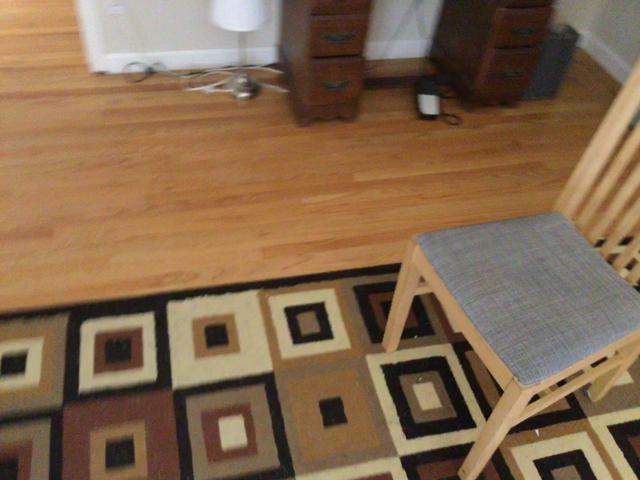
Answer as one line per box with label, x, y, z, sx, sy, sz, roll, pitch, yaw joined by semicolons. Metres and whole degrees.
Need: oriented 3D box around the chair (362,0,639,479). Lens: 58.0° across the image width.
chair;0.540;0.050;1.260;0.630;0.940;0.500;-14;49;-18
